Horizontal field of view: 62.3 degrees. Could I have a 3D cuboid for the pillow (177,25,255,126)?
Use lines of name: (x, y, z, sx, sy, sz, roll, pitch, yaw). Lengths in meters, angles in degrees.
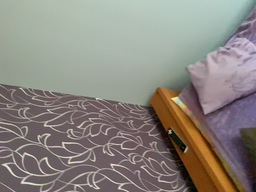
pillow: (0.480, -0.100, 1.100, 0.380, 0.190, 0.300, -54, 26, 33)
